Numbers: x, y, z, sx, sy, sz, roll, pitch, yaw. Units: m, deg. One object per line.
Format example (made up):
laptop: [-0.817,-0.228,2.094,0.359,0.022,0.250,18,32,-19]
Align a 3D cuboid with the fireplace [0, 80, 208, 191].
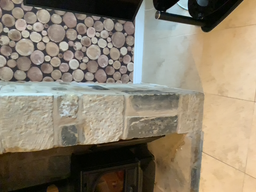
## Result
fireplace: [-0.400,0.830,1.680,0.850,1.700,1.840,17,106,61]
